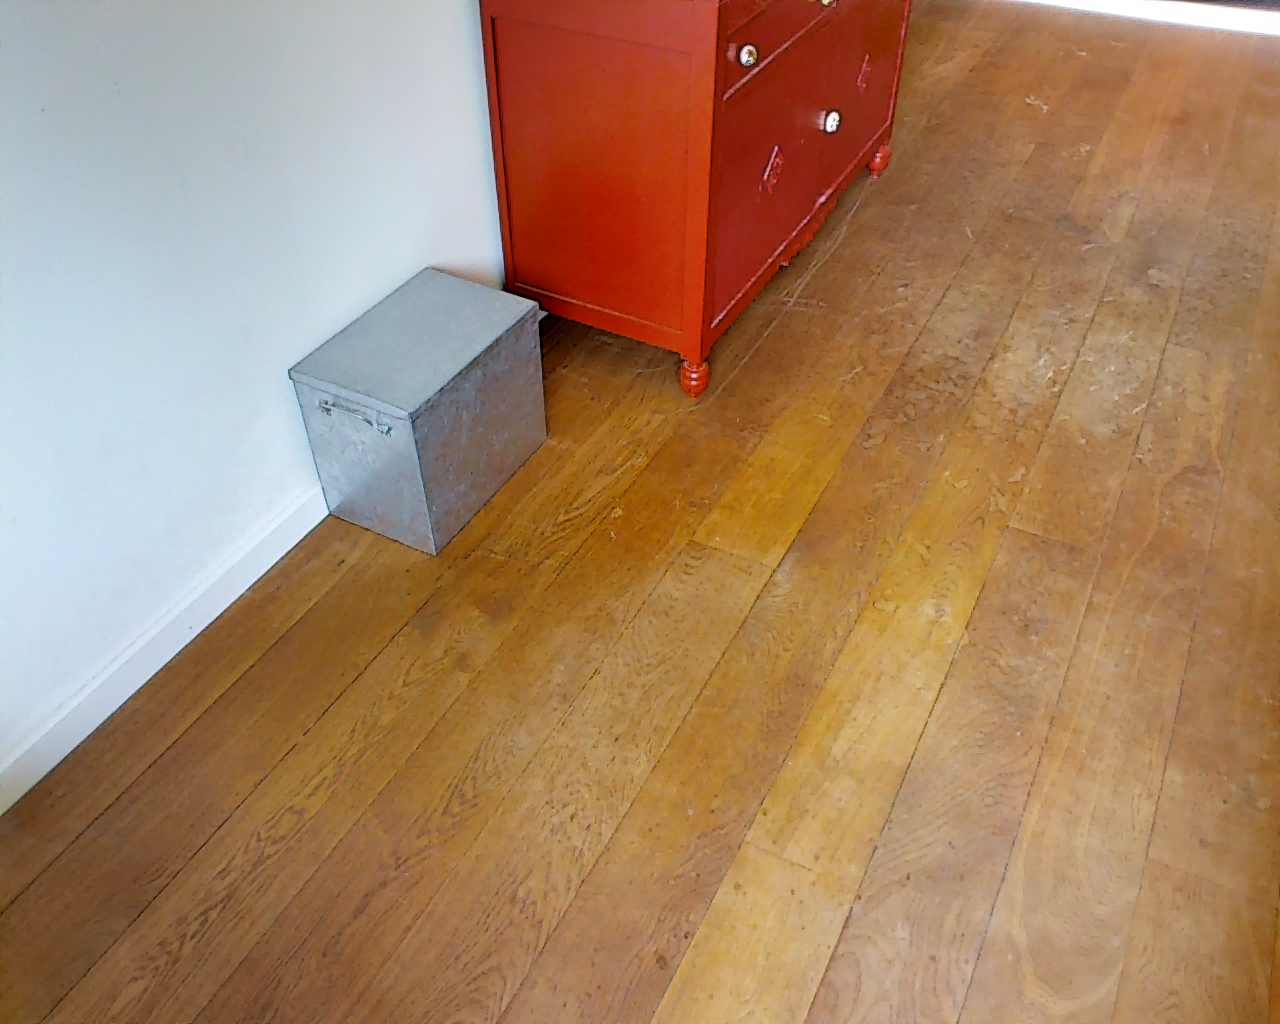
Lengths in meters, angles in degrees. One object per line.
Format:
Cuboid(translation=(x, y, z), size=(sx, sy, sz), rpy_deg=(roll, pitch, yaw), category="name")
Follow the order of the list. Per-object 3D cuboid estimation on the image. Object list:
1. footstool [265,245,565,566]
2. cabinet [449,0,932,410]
Cuboid(translation=(-0.410, -0.220, 2.100), size=(0.310, 0.370, 0.460), rpy_deg=(19, 46, 21), category="footstool")
Cuboid(translation=(0.220, -1.060, 2.580), size=(0.570, 0.910, 1.380), rpy_deg=(19, 46, 21), category="cabinet")
